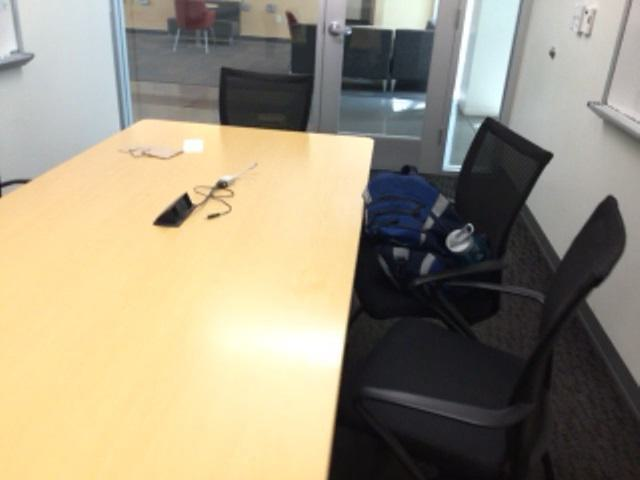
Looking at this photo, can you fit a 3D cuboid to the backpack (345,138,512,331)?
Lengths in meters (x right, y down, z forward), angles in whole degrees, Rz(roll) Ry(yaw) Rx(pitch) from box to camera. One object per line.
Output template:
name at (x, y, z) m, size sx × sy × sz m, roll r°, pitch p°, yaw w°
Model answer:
backpack at (0.320, -0.040, 1.760) m, size 0.400 × 0.390 × 0.450 m, roll 7°, pitch 27°, yaw 9°
